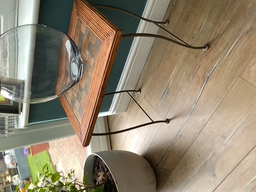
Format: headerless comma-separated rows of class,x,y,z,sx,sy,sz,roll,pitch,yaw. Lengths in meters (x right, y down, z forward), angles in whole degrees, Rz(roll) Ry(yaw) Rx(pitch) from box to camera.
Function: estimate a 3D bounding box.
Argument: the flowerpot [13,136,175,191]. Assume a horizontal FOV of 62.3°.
flowerpot,-0.170,0.480,1.150,0.470,0.700,0.350,-8,90,52
